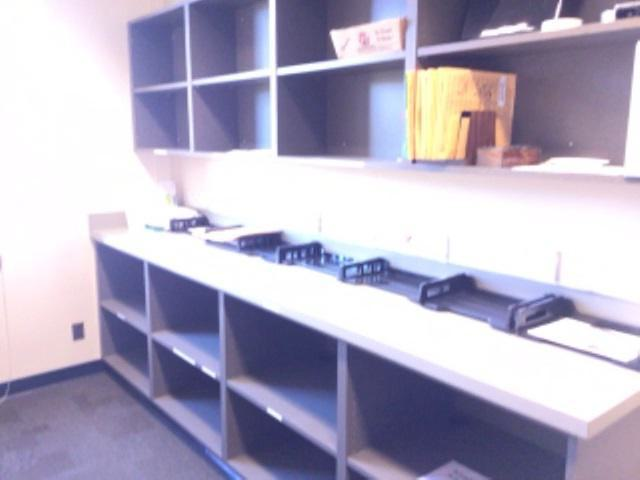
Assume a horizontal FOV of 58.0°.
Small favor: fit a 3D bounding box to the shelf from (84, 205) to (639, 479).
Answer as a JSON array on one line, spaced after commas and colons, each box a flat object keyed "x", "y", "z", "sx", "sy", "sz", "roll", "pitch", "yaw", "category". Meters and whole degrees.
[{"x": -0.220, "y": 0.500, "z": 2.500, "sx": 0.640, "sy": 1.040, "sz": 3.020, "roll": -6, "pitch": 11, "yaw": -37, "category": "shelf"}]

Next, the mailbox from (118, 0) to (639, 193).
[{"x": -0.100, "y": -0.710, "z": 2.370, "sx": 0.420, "sy": 0.830, "sz": 2.950, "roll": -6, "pitch": 11, "yaw": -37, "category": "mailbox"}]
